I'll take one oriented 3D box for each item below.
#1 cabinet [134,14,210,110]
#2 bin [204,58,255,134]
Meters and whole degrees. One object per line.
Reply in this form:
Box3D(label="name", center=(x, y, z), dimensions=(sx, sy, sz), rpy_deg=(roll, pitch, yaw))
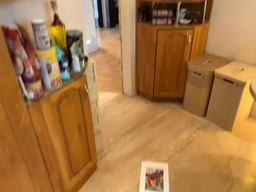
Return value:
Box3D(label="cabinet", center=(0.460, -0.410, 2.390), dimensions=(0.570, 0.840, 0.540), rpy_deg=(-28, 41, -36))
Box3D(label="bin", center=(1.050, -0.010, 2.080), dimensions=(0.420, 0.550, 0.330), rpy_deg=(-26, 39, -34))
